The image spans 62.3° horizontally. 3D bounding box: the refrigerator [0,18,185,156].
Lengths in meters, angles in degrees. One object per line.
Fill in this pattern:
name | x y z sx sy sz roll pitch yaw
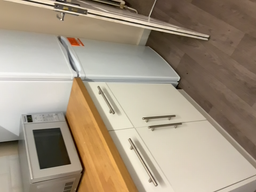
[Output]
refrigerator | -0.530 -0.090 1.630 0.710 1.730 0.640 54 133 43
